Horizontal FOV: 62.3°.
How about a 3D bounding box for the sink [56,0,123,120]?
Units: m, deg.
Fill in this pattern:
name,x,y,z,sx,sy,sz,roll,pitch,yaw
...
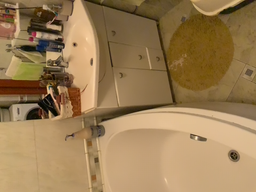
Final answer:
name,x,y,z,sx,sy,sz,roll,pitch,yaw
sink,-0.320,-0.280,1.570,0.510,0.160,0.810,-25,71,50
